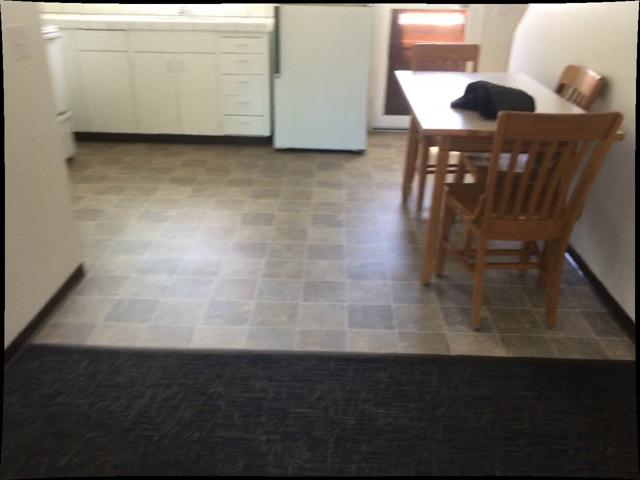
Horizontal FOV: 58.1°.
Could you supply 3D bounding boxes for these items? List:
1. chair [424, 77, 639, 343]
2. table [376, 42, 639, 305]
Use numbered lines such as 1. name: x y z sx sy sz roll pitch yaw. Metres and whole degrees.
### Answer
1. chair: 0.769 -0.140 2.340 0.519 0.891 0.620 1 27 1
2. table: 0.779 -0.451 2.960 0.829 0.861 1.491 1 27 1
